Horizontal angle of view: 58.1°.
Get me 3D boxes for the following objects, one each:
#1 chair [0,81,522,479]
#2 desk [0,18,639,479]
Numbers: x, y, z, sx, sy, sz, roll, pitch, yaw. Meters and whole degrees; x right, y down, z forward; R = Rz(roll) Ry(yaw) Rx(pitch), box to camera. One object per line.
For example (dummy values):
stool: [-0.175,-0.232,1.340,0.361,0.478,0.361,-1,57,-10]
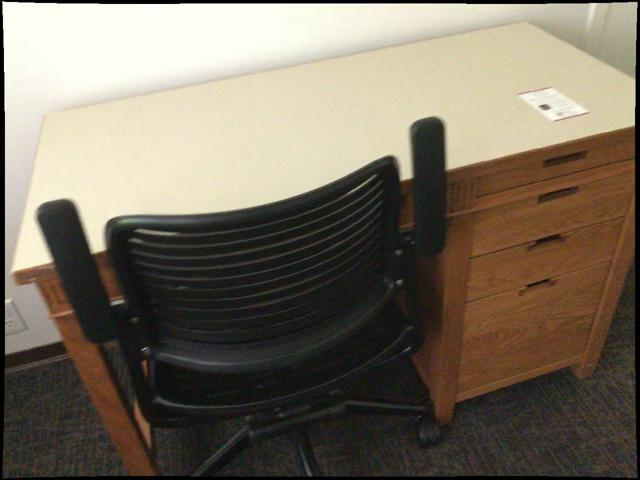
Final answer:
chair: [-0.060,0.241,1.090,0.698,0.901,0.250,-14,39,-10]
desk: [0.060,0.040,1.420,1.247,0.771,0.620,-14,39,-10]
